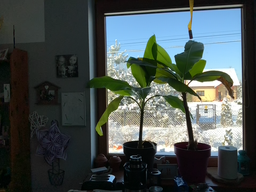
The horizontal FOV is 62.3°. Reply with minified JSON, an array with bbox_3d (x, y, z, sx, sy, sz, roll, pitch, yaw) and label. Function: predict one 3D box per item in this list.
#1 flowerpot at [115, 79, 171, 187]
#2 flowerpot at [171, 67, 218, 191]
[{"bbox_3d":[0.150,0.330,2.060,0.480,0.950,0.350,-1,1,6],"label":"flowerpot"},{"bbox_3d":[0.540,0.280,1.780,0.340,1.000,0.290,-1,1,13],"label":"flowerpot"}]
